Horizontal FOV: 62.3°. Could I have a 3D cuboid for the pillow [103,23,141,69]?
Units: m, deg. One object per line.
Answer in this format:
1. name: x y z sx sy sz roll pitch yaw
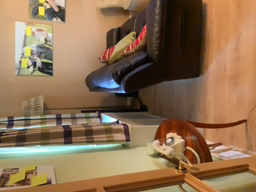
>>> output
1. pillow: -0.080 -0.610 2.640 0.140 0.430 0.430 35 156 -12
